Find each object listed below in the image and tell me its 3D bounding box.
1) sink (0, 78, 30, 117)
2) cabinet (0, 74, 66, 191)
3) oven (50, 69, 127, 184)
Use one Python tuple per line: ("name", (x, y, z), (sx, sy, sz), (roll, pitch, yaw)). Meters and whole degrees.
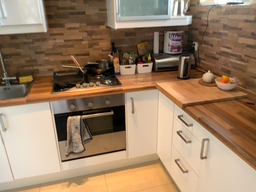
("sink", (-1.120, 0.010, 1.840), (0.410, 0.170, 0.440), (-6, 23, -13))
("cabinet", (-1.060, 0.340, 1.990), (0.810, 0.890, 0.620), (-6, 23, -13))
("oven", (-0.380, 0.260, 2.150), (0.600, 0.900, 0.610), (-6, 23, -13))
